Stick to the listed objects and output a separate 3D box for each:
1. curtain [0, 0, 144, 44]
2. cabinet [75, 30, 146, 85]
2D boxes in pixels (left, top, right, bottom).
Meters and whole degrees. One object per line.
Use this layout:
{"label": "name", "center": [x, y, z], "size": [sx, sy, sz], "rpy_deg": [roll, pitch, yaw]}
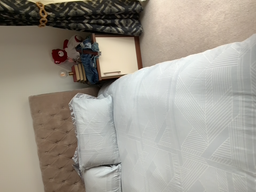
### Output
{"label": "curtain", "center": [-0.920, -0.610, 1.710], "size": [0.320, 2.300, 0.290], "rpy_deg": [-9, 91, 59]}
{"label": "cabinet", "center": [-0.220, -0.430, 2.460], "size": [0.580, 0.550, 0.480], "rpy_deg": [-6, 94, 59]}
